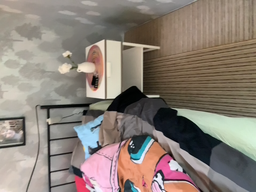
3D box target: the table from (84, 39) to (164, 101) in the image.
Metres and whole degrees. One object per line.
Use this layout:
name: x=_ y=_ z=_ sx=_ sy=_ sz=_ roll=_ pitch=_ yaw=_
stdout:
table: x=-0.050 y=-0.220 z=1.920 sx=0.470 sy=0.550 sz=0.460 roll=11 pitch=101 yaw=57
